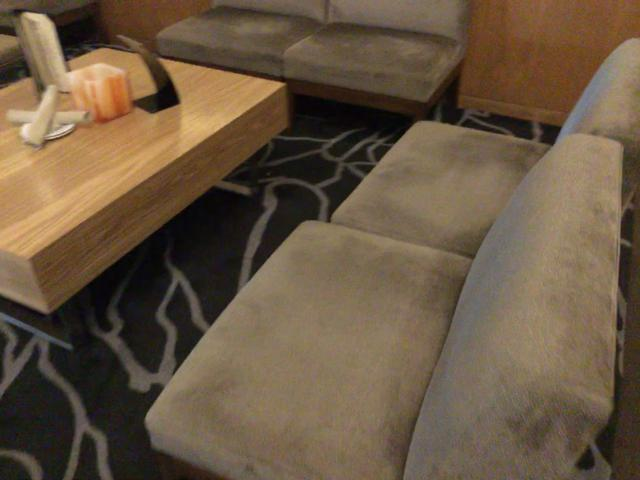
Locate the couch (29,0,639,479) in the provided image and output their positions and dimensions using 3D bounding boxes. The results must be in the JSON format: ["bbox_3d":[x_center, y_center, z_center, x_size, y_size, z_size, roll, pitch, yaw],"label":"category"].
[{"bbox_3d":[0.290,0.020,1.470,0.780,0.830,1.580,18,40,19],"label":"couch"}]

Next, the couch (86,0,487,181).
[{"bbox_3d":[-0.140,-1.030,2.850,1.710,0.780,0.860,16,39,16],"label":"couch"}]
